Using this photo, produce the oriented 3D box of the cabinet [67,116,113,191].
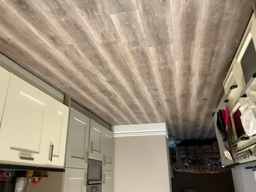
[{"bbox_3d":[-0.640,1.550,3.720,0.590,2.280,0.580,-6,159,13],"label":"cabinet"}]
